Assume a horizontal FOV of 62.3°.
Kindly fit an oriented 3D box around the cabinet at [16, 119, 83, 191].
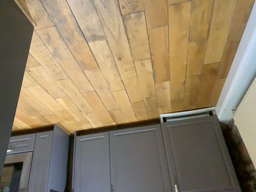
[{"bbox_3d":[-0.840,0.890,2.490,0.310,0.900,0.930,-8,149,5],"label":"cabinet"}]
